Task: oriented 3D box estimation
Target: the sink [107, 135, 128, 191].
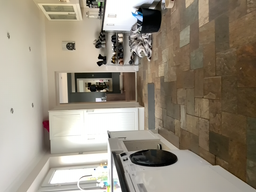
[{"bbox_3d":[-0.150,0.970,2.760,0.610,0.200,0.790,-170,78,-81],"label":"sink"}]
